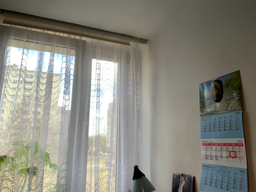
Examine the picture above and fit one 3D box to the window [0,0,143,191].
[{"bbox_3d":[-0.440,0.200,1.640,1.140,1.640,0.220,6,-13,-23],"label":"window"}]
